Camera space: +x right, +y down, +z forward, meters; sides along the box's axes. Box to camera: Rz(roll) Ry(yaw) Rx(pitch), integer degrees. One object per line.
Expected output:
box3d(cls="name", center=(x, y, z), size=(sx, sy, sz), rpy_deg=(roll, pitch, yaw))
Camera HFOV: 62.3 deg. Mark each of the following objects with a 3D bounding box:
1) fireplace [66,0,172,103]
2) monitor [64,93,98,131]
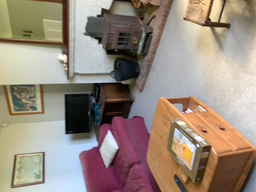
box3d(cls="fireplace", center=(-0.200, -0.770, 2.600), size=(0.540, 1.030, 1.770), rpy_deg=(-113, 28, -43))
box3d(cls="monitor", center=(-0.770, 0.260, 3.520), size=(0.030, 0.520, 0.600), rpy_deg=(-165, 73, -69))
